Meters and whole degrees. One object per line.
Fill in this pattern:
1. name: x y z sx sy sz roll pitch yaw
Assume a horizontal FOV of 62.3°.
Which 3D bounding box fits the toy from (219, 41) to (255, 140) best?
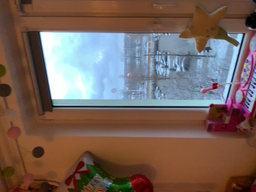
1. toy: 0.700 -0.020 1.280 0.210 0.080 0.570 -91 2 -57
